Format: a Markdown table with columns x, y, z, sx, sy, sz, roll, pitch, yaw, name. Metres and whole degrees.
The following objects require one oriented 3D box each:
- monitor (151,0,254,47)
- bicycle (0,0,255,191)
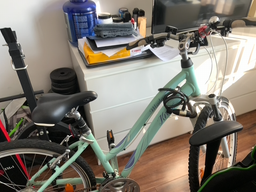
| x | y | z | sx | sy | sz | roll | pitch | yaw | name |
| --- | --- | --- | --- | --- | --- | --- | --- | --- | --- |
| 0.490 | -0.610 | 1.330 | 0.730 | 0.460 | 0.050 | -15 | 37 | -13 | monitor |
| 0.050 | 0.140 | 1.000 | 1.620 | 1.070 | 0.340 | -13 | 37 | -16 | bicycle |
